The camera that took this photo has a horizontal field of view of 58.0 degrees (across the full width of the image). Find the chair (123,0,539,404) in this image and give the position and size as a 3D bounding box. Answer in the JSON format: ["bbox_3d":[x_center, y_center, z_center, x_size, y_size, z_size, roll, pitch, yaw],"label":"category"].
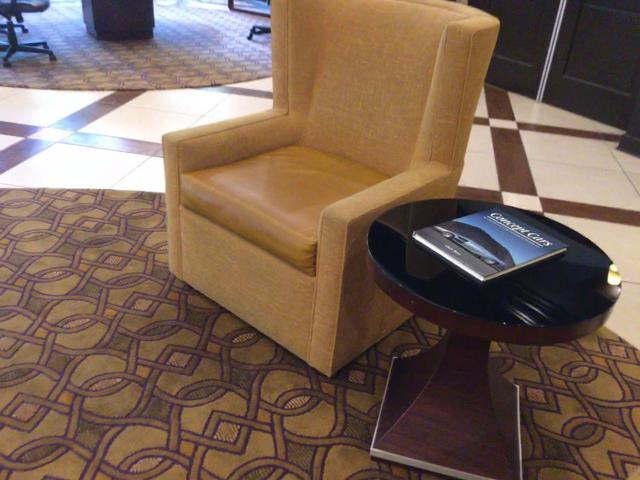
[{"bbox_3d":[0.010,-0.290,2.050,0.950,1.070,0.890,26,35,32],"label":"chair"}]

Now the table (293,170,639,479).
[{"bbox_3d":[0.380,0.280,1.590,0.630,0.670,0.620,-16,35,-34],"label":"table"}]
